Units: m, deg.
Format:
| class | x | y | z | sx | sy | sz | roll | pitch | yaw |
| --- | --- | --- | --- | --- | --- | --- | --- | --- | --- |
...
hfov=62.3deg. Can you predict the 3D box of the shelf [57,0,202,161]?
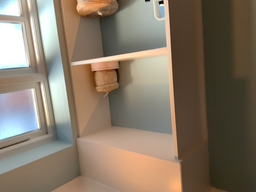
| class | x | y | z | sx | sy | sz | roll | pitch | yaw |
| --- | --- | --- | --- | --- | --- | --- | --- | --- | --- |
| shelf | -0.070 | -0.820 | 1.070 | 0.700 | 2.150 | 0.300 | 2 | -168 | 40 |
